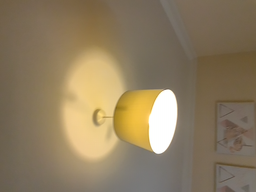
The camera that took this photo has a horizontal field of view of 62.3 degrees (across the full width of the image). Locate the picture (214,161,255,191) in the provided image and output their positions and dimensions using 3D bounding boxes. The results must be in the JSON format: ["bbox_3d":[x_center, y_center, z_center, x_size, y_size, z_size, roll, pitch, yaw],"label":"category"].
[{"bbox_3d":[1.120,1.020,2.220,0.020,0.400,0.590,35,-121,-55],"label":"picture"}]
